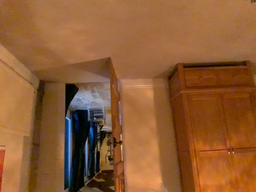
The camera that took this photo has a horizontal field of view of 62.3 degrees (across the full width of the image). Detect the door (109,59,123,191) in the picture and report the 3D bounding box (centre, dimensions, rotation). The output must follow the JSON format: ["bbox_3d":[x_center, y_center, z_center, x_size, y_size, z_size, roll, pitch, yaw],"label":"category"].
[{"bbox_3d":[-0.130,0.570,2.620,0.070,1.830,0.840,-3,166,-2],"label":"door"}]
